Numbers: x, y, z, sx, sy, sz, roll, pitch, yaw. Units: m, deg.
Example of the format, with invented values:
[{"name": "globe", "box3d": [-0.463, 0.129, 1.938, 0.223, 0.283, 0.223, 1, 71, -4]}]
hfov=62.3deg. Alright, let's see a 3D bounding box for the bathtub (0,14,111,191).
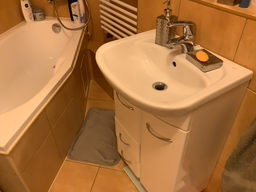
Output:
[{"name": "bathtub", "box3d": [-0.730, -0.090, 1.640, 0.790, 0.550, 1.470, 7, 40, 10]}]
